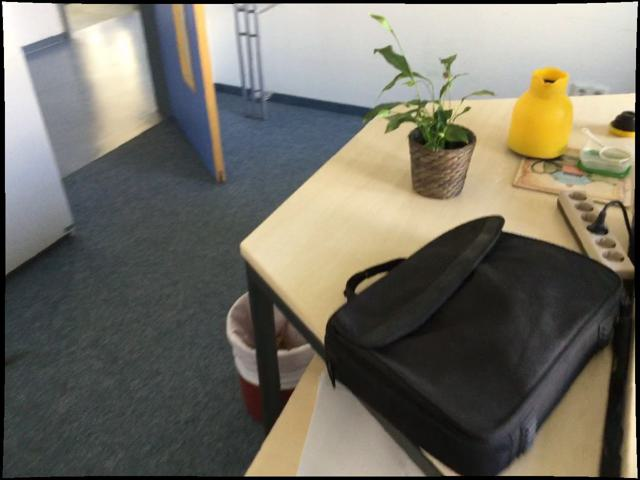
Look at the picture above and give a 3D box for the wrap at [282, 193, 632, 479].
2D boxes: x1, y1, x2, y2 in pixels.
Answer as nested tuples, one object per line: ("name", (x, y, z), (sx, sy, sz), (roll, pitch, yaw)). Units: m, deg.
("wrap", (0.230, 0.130, 0.900), (0.410, 0.140, 0.430), (14, 40, 23))
